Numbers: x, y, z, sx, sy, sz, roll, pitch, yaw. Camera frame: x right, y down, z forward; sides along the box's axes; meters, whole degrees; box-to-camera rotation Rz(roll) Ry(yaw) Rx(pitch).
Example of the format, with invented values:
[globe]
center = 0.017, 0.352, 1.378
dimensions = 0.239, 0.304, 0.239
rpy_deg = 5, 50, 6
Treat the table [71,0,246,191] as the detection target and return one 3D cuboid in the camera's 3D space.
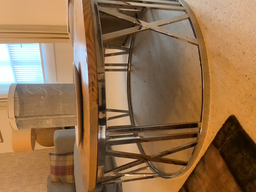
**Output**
[table]
center = -0.060, -0.050, 1.170
dimensions = 1.010, 0.430, 1.010
rpy_deg = 127, 138, -65
